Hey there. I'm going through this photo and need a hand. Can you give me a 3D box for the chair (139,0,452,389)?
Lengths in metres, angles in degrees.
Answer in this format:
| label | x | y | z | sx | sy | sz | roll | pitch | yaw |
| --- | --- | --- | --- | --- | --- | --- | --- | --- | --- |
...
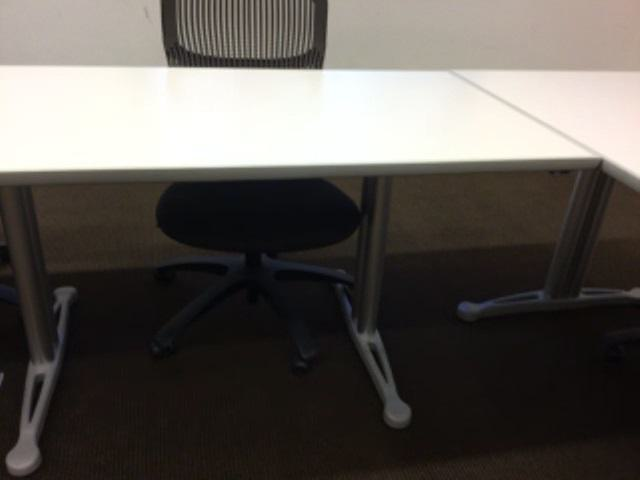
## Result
| label | x | y | z | sx | sy | sz | roll | pitch | yaw |
| --- | --- | --- | --- | --- | --- | --- | --- | --- | --- |
| chair | -0.150 | -0.210 | 1.590 | 0.630 | 0.960 | 0.630 | -2 | 26 | -16 |
